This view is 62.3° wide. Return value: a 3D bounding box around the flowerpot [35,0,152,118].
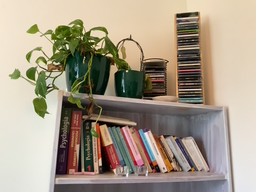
[{"bbox_3d":[-0.180,-0.140,1.110,0.470,0.440,0.430,5,-12,-16],"label":"flowerpot"}]
